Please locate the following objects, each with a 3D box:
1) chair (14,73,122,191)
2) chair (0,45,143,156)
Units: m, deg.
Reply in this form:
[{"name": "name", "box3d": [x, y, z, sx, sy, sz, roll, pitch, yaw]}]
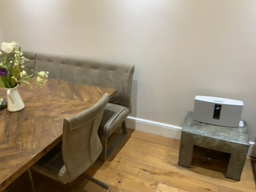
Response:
[{"name": "chair", "box3d": [-0.450, 0.380, 1.840, 0.640, 0.970, 0.490, 12, 27, 22]}, {"name": "chair", "box3d": [-0.910, -0.060, 2.810, 2.070, 0.920, 0.670, 11, 27, 21]}]
